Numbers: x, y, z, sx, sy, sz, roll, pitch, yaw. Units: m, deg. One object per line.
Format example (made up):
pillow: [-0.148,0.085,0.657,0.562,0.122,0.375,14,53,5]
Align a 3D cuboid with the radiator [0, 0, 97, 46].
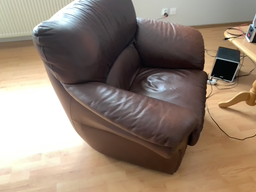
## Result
radiator: [-1.280,-0.950,2.440,1.760,0.690,0.150,-8,42,-11]
